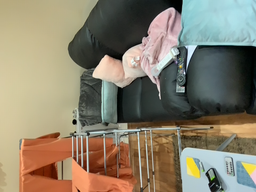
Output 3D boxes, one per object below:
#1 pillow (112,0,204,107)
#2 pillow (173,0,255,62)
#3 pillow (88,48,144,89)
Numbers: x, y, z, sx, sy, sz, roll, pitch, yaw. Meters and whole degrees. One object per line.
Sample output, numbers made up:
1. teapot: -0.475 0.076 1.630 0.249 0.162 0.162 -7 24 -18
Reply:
1. pillow: 0.150 -0.220 1.470 0.660 0.260 0.530 -15 75 60
2. pillow: 0.440 -0.340 0.920 0.440 0.210 0.310 -7 96 18
3. pillow: -0.120 -0.230 1.940 0.320 0.400 0.260 -18 73 59
